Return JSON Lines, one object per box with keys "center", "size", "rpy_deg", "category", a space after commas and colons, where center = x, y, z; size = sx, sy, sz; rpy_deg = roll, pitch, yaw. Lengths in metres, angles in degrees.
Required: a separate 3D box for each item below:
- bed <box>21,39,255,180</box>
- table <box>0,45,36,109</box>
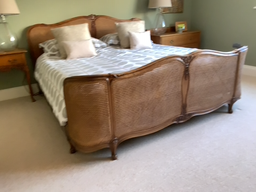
{"center": [-0.070, -0.240, 2.660], "size": [1.980, 0.620, 2.160], "rpy_deg": [-14, 24, -29], "category": "bed"}
{"center": [-1.660, -0.240, 2.720], "size": [0.720, 0.700, 0.390], "rpy_deg": [-14, 24, -29], "category": "table"}
